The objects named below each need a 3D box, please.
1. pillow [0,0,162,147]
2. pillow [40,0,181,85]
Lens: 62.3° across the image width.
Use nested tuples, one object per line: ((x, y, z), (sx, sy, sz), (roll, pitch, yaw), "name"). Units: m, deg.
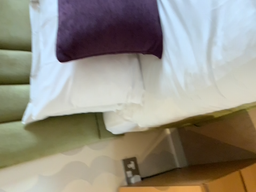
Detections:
((-0.230, -0.210, 0.930), (0.270, 0.490, 0.650), (-30, 89, 43), "pillow")
((-0.060, -0.310, 0.770), (0.180, 0.380, 0.410), (-30, 90, 42), "pillow")
